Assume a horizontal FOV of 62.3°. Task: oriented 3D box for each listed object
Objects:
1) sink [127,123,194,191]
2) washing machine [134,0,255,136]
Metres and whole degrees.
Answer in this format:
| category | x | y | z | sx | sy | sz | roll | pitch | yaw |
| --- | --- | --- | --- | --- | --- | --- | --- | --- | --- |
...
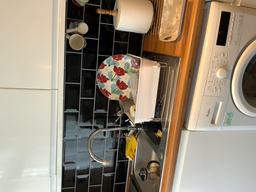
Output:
| category | x | y | z | sx | sy | sz | roll | pitch | yaw |
| --- | --- | --- | --- | --- | --- | --- | --- | --- | --- |
| sink | 0.180 | 0.470 | 1.420 | 0.480 | 0.200 | 0.410 | -137 | 51 | -67 |
| washing machine | 0.610 | -0.180 | 1.320 | 0.640 | 0.940 | 0.590 | -137 | 51 | -67 |
